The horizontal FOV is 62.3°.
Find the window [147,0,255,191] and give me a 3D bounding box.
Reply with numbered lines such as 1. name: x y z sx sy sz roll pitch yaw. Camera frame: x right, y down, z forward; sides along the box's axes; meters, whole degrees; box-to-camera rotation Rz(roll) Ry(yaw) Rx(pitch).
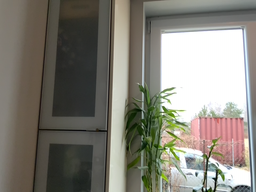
1. window: 0.840 0.130 1.330 1.410 1.480 0.160 0 -8 14
